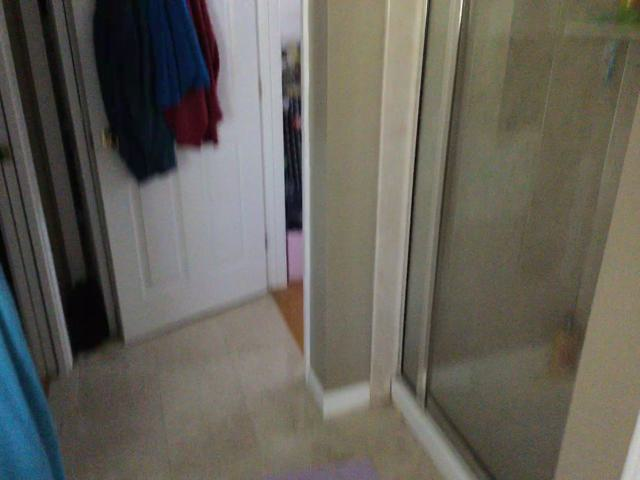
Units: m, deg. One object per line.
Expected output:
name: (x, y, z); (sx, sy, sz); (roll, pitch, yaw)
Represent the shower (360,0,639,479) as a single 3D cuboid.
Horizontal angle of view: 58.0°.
shower: (0.810, -0.110, 1.530); (0.920, 2.060, 1.100); (-4, 24, -17)
